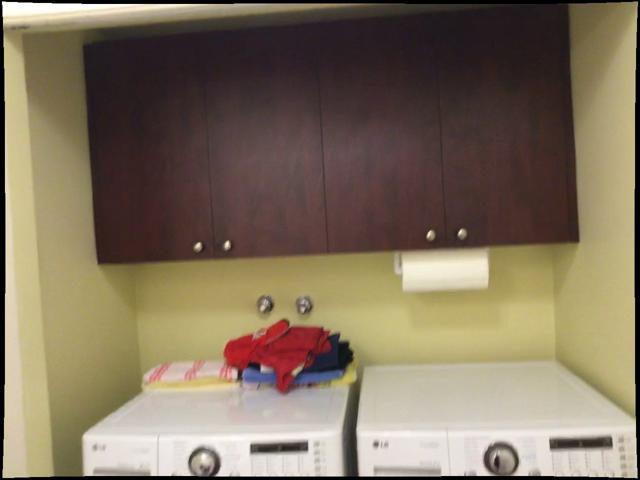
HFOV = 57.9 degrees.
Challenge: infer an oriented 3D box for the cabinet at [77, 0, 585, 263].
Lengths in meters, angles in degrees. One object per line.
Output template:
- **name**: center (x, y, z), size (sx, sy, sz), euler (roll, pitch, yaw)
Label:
- **cabinet**: center (0.010, -0.360, 1.910), size (1.578, 0.801, 0.160), euler (-3, 2, 6)
